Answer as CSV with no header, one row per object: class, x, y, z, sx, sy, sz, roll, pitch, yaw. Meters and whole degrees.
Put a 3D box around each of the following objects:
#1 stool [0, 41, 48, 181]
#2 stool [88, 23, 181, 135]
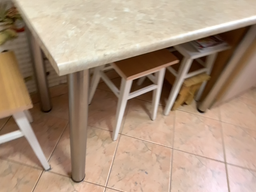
stool,-0.540,0.090,0.840,0.290,0.470,0.290,-21,55,-29
stool,0.000,-0.090,1.150,0.300,0.450,0.310,-21,55,-29
